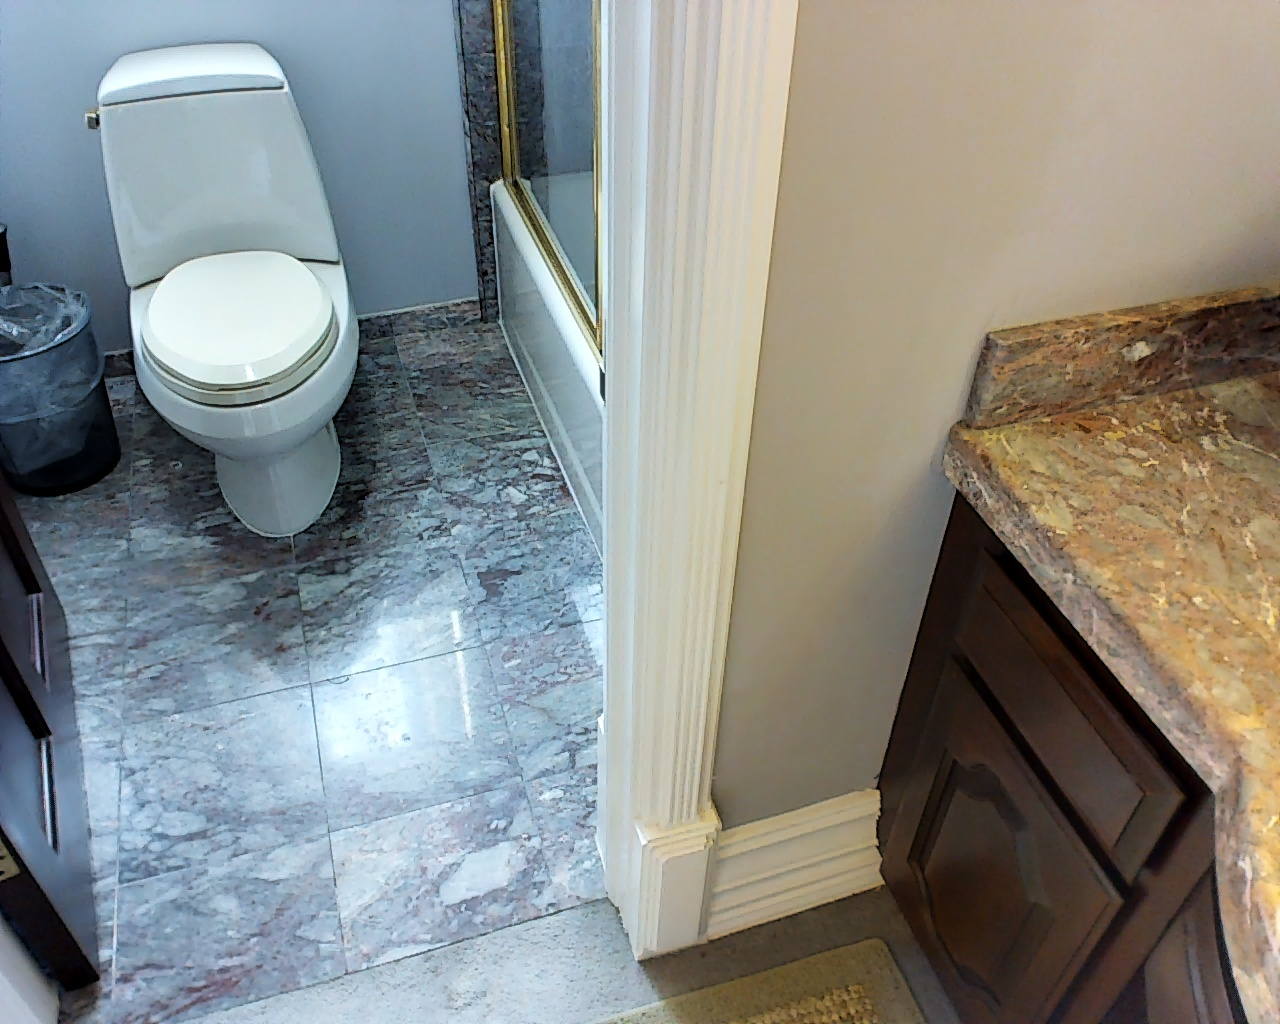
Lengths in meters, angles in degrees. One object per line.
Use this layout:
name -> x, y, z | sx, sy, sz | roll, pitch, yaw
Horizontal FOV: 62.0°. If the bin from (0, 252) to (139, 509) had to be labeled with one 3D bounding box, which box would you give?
bin -> -1.220, -0.270, 2.160 | 0.280, 0.350, 0.350 | -11, 43, -14
